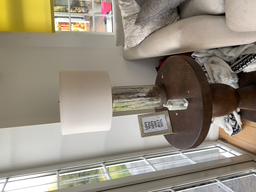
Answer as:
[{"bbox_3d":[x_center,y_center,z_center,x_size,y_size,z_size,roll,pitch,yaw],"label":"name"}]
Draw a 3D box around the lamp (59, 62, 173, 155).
[{"bbox_3d":[-0.080,0.030,1.220,0.320,0.580,0.430,-162,70,-71],"label":"lamp"}]
